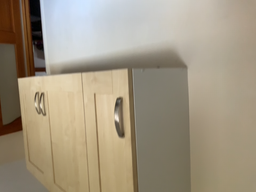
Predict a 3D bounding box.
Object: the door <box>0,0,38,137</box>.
[{"bbox_3d":[-1.480,-0.560,2.290,0.110,2.030,0.820,1,-173,34],"label":"door"}]
